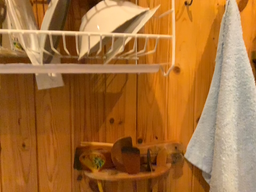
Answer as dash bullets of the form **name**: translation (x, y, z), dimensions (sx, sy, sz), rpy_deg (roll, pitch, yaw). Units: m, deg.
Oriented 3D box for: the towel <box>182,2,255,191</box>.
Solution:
- **towel**: translation (0.320, 0.100, 0.600), dimensions (0.260, 0.630, 0.180), rpy_deg (0, 6, -9)
